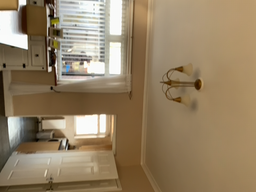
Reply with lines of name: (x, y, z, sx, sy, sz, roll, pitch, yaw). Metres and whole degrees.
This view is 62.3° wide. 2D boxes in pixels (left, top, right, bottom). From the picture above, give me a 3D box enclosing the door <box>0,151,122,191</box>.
door: (-1.220, 1.340, 3.860, 0.830, 2.100, 0.130, -123, -145, -69)
